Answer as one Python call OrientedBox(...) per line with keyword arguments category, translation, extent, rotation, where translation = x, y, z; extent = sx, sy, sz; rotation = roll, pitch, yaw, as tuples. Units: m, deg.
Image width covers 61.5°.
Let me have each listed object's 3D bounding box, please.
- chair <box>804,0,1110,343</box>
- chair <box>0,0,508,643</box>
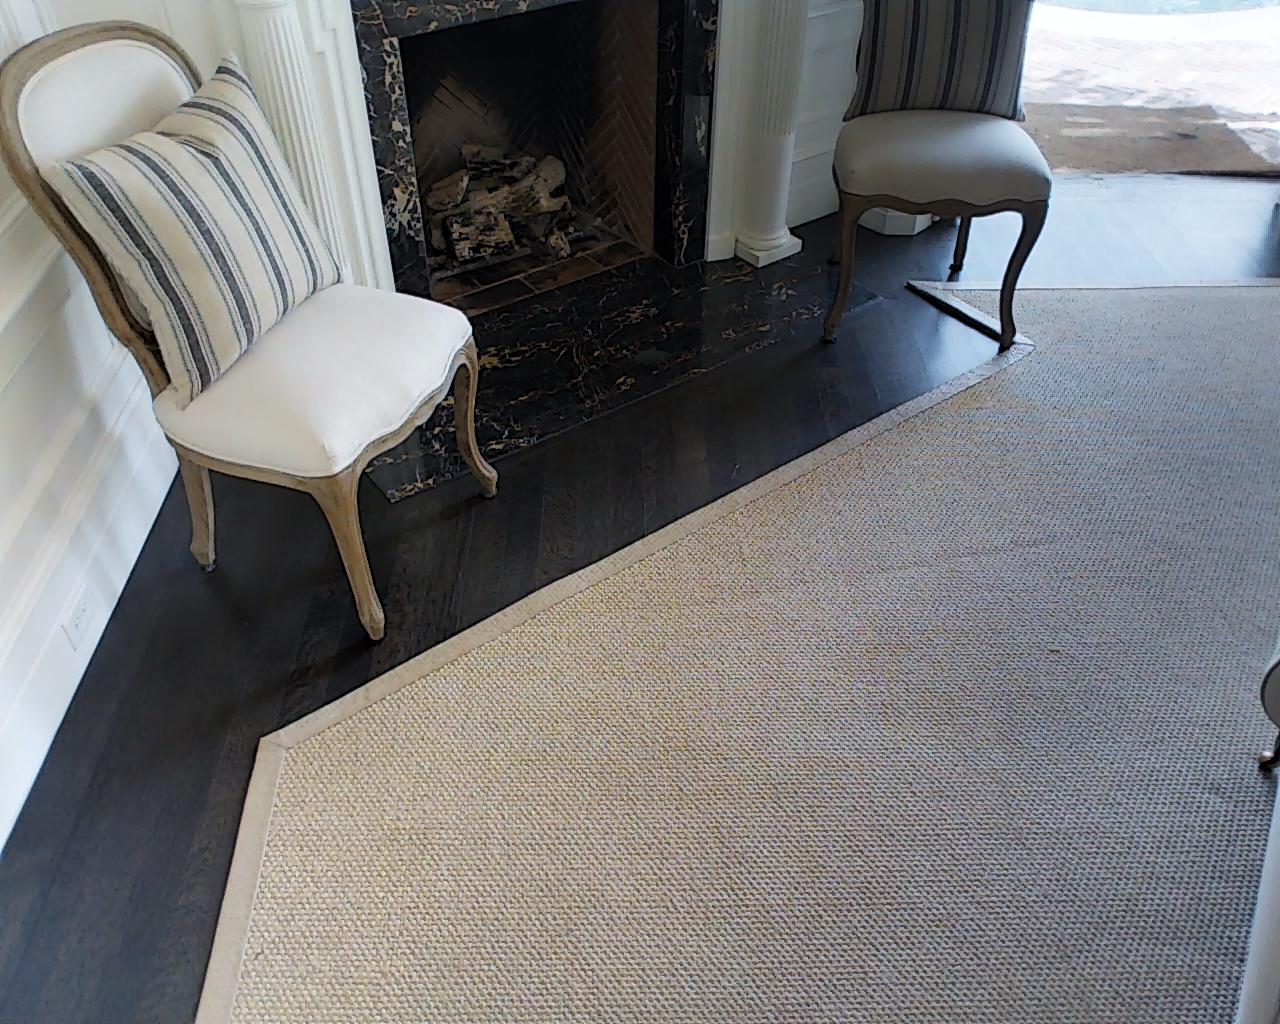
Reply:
OrientedBox(category="chair", translation=(0.770, -1.060, 2.840), extent=(0.540, 0.980, 0.660), rotation=(4, 42, 3))
OrientedBox(category="chair", translation=(-0.710, -0.370, 2.050), extent=(0.670, 1.000, 0.550), rotation=(15, 44, 15))
